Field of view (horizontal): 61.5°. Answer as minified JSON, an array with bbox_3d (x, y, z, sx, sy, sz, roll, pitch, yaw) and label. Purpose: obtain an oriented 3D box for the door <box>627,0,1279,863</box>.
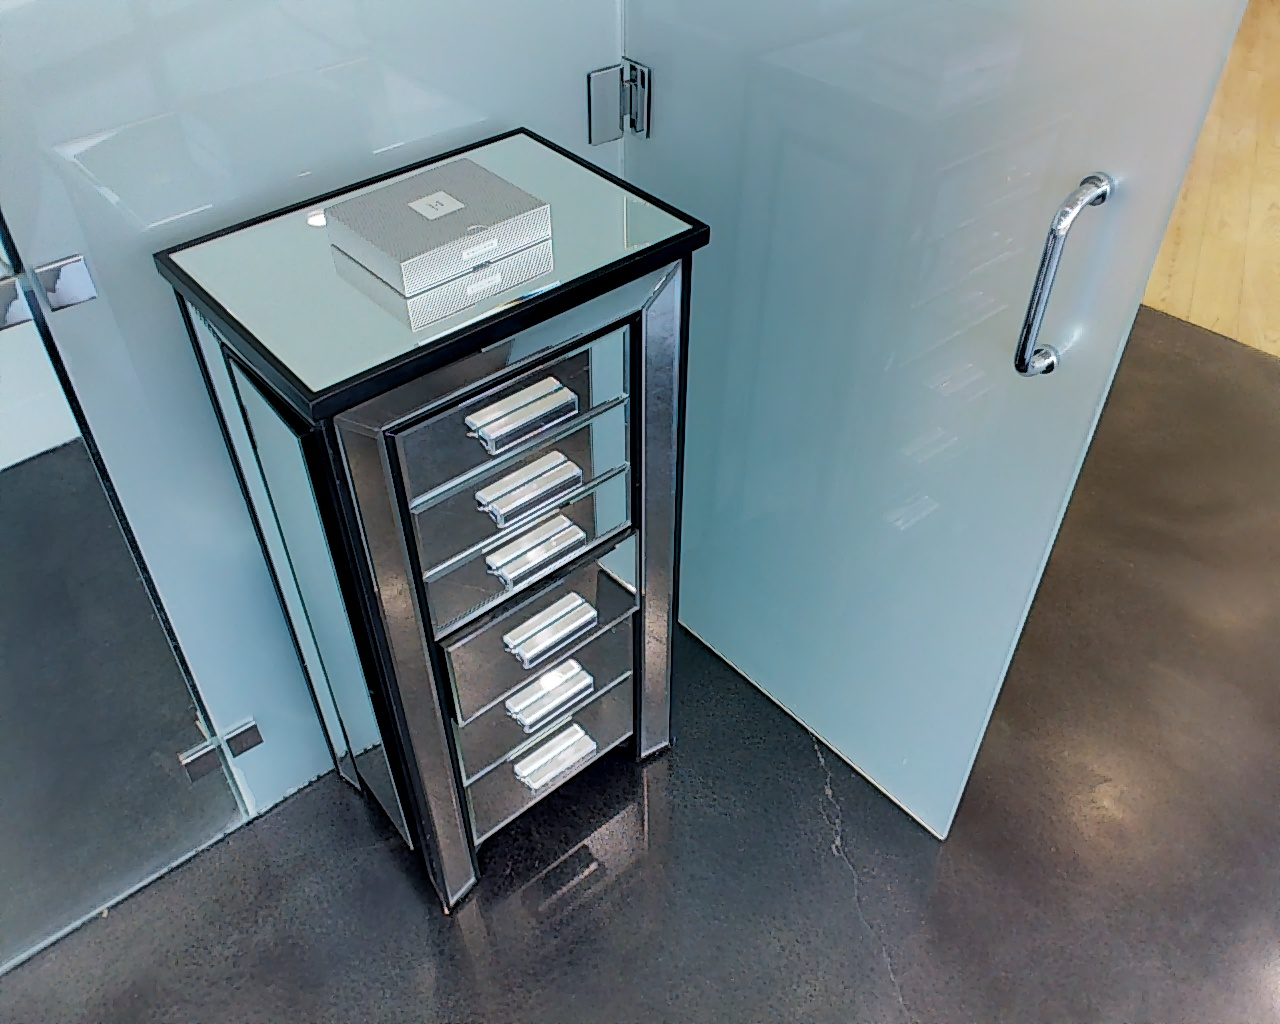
[{"bbox_3d":[0.290,-0.430,1.310,0.130,2.060,0.810,-29,50,-28],"label":"door"}]
